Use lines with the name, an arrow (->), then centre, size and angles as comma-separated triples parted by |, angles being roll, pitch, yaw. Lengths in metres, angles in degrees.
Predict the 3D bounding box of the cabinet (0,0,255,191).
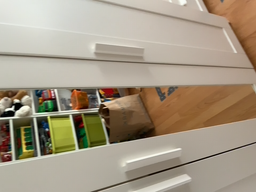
cabinet -> -0.080, 0.170, 0.890 | 0.530, 1.900, 1.180 | -39, 60, 50
